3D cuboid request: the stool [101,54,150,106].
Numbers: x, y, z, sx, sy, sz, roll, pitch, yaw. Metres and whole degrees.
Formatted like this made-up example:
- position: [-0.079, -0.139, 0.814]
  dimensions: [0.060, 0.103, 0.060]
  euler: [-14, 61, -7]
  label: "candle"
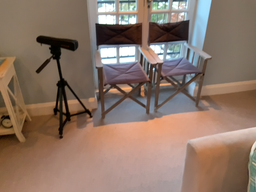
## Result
- position: [-0.040, -0.190, 2.410]
  dimensions: [0.470, 0.460, 0.310]
  euler: [-6, 32, -10]
  label: "stool"
